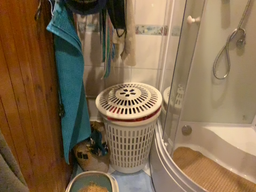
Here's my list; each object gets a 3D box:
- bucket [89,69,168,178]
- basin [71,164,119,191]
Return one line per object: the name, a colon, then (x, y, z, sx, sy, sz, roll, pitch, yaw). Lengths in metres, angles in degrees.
bucket: (-0.020, 0.210, 1.620, 0.470, 0.680, 0.450, 2, 30, -3)
basin: (-0.220, 0.670, 1.370, 0.290, 0.100, 0.470, 3, 30, 0)
